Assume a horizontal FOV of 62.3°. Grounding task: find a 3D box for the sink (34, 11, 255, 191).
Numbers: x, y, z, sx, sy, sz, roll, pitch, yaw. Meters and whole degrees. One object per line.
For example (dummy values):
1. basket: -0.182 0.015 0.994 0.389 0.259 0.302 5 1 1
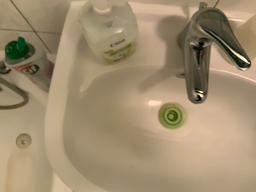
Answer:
1. sink: 0.110 0.050 0.450 0.510 0.140 0.380 5 77 0
